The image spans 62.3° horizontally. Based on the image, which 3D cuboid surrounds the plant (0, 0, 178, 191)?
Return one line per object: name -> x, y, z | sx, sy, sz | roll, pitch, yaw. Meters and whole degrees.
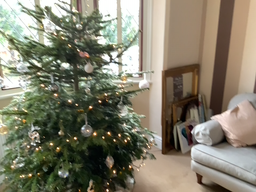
plant -> -0.560, 0.100, 2.010 | 1.520, 1.770, 1.230 | -13, 21, -36
